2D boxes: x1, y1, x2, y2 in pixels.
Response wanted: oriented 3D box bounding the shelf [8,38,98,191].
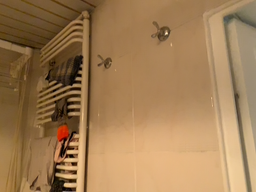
[{"bbox_3d":[-0.450,0.260,1.200,0.690,0.970,0.140,-14,-19,42],"label":"shelf"}]
